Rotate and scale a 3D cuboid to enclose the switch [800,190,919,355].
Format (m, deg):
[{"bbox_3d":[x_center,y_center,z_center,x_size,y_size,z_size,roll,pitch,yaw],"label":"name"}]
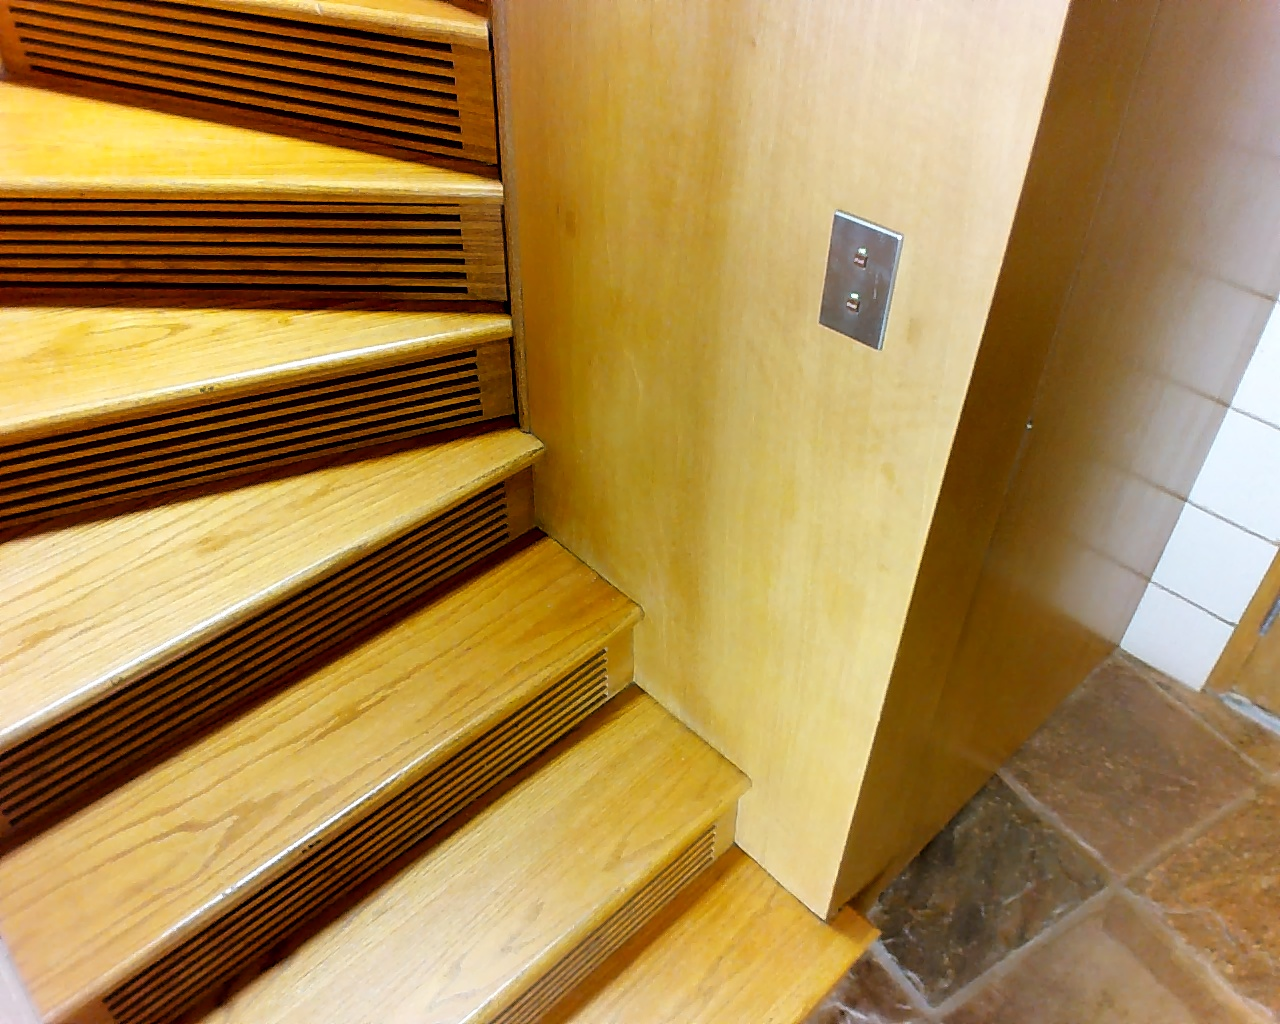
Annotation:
[{"bbox_3d":[0.200,-0.220,0.990,0.090,0.130,0.020,28,48,27],"label":"switch"}]
